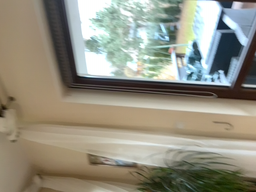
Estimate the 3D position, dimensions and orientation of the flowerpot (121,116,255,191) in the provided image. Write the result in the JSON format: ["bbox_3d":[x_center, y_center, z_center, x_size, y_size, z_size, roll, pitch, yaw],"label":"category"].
[{"bbox_3d":[0.750,0.850,1.670,0.780,1.560,1.010,-80,-6,-62],"label":"flowerpot"}]
